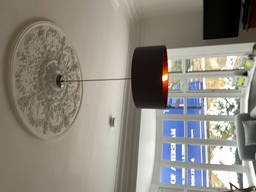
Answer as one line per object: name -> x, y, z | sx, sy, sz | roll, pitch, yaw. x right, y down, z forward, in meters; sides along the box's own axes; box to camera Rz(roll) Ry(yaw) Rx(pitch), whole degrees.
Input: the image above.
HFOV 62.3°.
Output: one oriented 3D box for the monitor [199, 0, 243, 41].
monitor -> 1.430, -1.350, 3.290 | 0.070, 0.610, 0.950 | -70, -26, -52
